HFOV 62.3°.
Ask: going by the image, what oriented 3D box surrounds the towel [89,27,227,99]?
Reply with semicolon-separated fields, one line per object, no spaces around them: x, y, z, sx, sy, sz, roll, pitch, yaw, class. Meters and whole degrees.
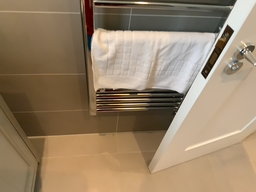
0.090;-0.110;0.850;0.470;0.310;0.080;0;54;-8;towel
